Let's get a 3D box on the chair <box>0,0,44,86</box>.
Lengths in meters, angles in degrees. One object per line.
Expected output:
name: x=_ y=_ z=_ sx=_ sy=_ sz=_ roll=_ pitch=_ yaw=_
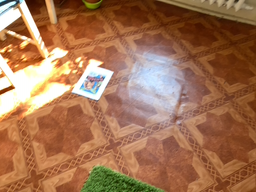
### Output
chair: x=-0.940 y=-0.540 z=1.320 sx=0.460 sy=0.860 sz=0.380 roll=21 pitch=55 yaw=9
